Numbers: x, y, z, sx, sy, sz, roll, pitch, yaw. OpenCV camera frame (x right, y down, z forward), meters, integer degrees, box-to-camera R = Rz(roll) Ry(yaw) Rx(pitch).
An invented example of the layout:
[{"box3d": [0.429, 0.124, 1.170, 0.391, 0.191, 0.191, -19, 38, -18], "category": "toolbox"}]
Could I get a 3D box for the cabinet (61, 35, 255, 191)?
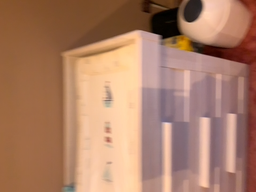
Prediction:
[{"box3d": [0.210, 0.240, 1.160, 0.560, 0.950, 0.880, 4, 94, 49], "category": "cabinet"}]
